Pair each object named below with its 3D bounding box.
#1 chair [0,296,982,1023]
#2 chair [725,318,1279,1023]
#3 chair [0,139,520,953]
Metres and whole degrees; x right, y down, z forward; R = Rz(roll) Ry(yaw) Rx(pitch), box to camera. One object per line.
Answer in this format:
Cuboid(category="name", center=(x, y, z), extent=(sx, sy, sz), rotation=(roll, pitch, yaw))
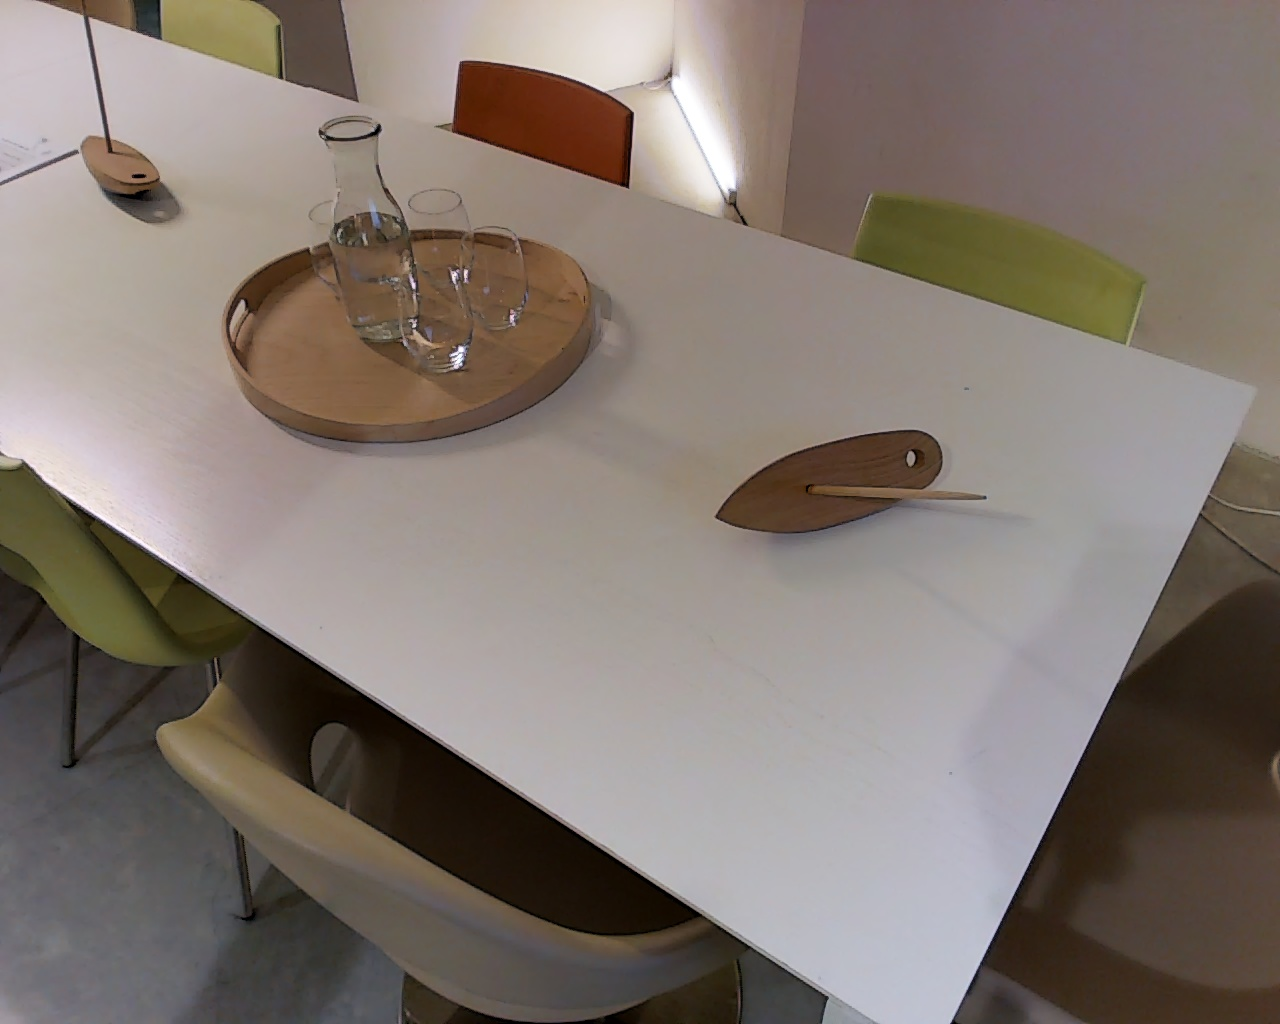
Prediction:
Cuboid(category="chair", center=(-0.140, 0.350, 1.160), extent=(0.660, 0.840, 0.540), rotation=(26, 48, 25))
Cuboid(category="chair", center=(0.540, 0.400, 1.110), extent=(0.640, 0.850, 0.590), rotation=(-31, 51, -29))
Cuboid(category="chair", center=(-0.600, 0.040, 1.520), extent=(0.520, 0.820, 0.620), rotation=(25, 48, 25))
